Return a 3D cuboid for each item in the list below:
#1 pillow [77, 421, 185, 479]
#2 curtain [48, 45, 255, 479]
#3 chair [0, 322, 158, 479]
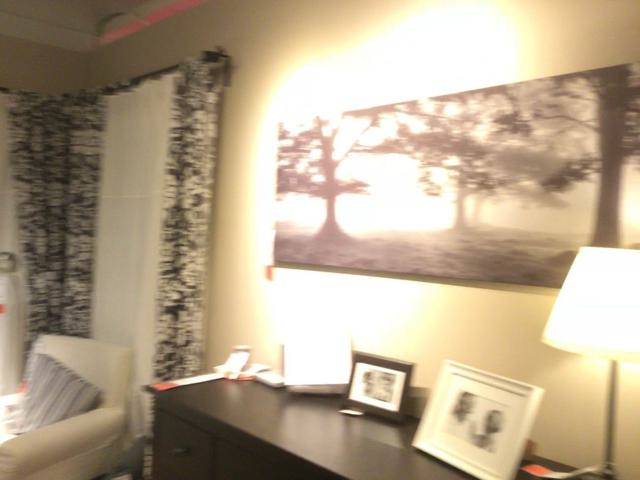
[{"bbox_3d":[-0.890,1.070,2.700,0.420,0.280,0.310,4,1,45],"label":"pillow"},{"bbox_3d":[-0.940,0.300,2.950,1.450,2.260,0.210,4,1,45],"label":"curtain"},{"bbox_3d":[-1.380,0.910,2.810,0.700,0.840,0.890,4,0,22],"label":"chair"}]
